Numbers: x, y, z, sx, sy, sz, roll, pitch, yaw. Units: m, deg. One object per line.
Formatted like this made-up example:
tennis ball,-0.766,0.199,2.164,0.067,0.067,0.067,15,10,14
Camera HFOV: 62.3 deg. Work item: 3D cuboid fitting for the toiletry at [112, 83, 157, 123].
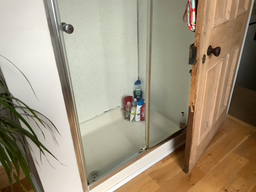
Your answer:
toiletry,0.070,0.060,1.980,0.380,0.290,0.210,3,31,8
